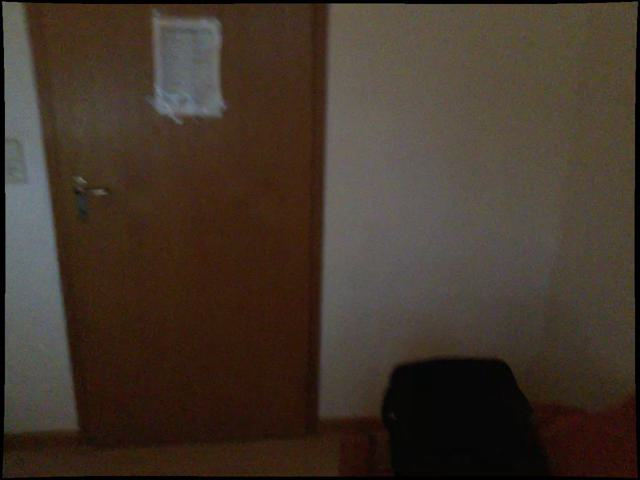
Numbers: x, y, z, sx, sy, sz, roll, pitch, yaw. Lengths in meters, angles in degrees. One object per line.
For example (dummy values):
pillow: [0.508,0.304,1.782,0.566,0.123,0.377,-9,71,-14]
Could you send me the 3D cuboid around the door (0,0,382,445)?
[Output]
door: [-0.470,-0.170,2.040,1.169,2.032,0.150,4,19,-9]
